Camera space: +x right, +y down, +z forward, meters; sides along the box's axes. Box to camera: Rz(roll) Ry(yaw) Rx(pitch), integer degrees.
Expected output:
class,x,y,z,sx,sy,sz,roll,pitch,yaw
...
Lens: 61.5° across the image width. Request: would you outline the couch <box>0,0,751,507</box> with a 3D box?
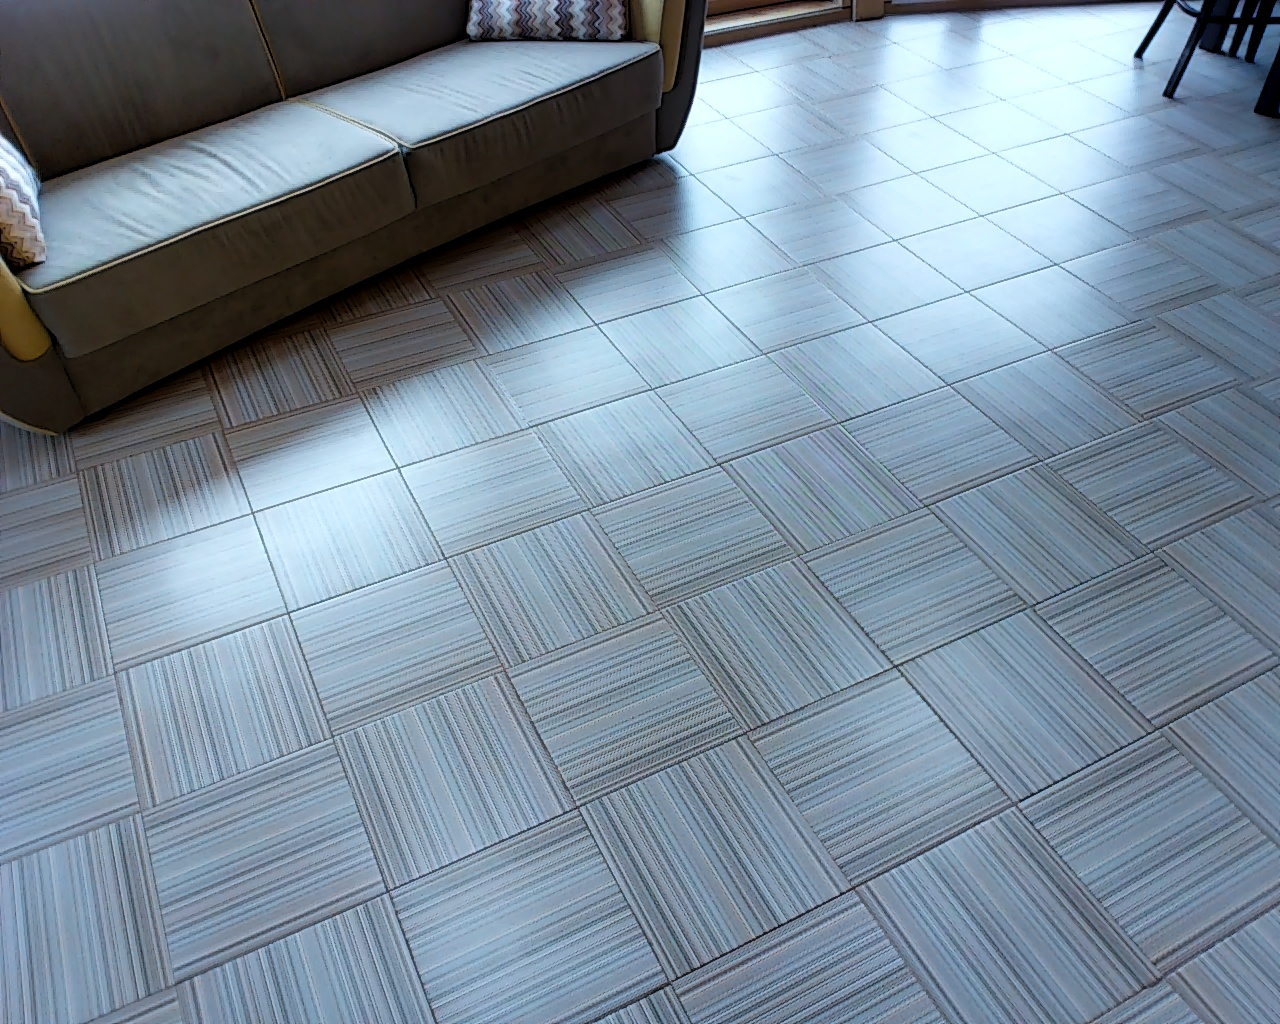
class,x,y,z,sx,sy,sz,roll,pitch,yaw
couch,-0.920,-1.180,3.070,2.510,0.850,1.080,-34,51,-31
